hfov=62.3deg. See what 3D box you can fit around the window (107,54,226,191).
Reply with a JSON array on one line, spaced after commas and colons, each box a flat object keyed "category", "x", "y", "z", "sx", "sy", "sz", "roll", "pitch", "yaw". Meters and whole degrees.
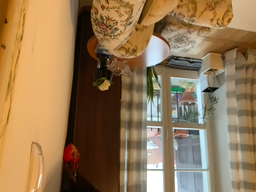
[{"category": "window", "x": 0.510, "y": 0.840, "z": 2.850, "sx": 1.530, "sy": 2.790, "sz": 0.240, "roll": 4, "pitch": 165, "yaw": -9}]
